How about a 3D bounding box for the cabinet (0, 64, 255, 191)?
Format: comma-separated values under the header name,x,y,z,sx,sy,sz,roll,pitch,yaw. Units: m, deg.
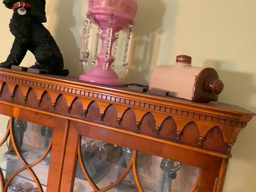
name,x,y,z,sx,sy,sz,roll,pitch,yaw
cabinet,-0.280,0.910,0.860,1.010,1.960,0.410,11,6,17
